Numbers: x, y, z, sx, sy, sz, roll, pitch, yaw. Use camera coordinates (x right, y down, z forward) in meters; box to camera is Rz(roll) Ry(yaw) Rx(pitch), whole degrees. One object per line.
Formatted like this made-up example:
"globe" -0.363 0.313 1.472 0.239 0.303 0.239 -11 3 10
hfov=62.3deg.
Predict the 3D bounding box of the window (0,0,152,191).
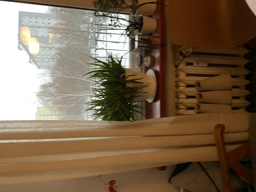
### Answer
"window" -0.690 -0.610 1.460 0.190 1.680 2.400 160 109 -72

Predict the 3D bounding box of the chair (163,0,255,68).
"chair" 0.720 -0.500 1.270 0.540 0.810 0.460 135 133 -67
